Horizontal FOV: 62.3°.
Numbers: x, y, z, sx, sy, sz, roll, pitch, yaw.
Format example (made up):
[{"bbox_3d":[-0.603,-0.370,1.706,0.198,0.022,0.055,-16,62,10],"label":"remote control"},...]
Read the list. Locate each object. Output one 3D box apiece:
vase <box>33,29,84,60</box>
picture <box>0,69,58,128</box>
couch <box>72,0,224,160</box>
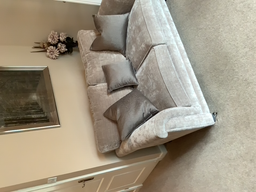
[{"bbox_3d":[-1.120,-0.820,3.420,0.390,0.710,0.300,62,145,37],"label":"vase"},{"bbox_3d":[-1.320,-0.020,2.680,0.910,0.690,0.040,64,146,35],"label":"picture"},{"bbox_3d":[0.050,-0.320,2.390,1.030,0.900,1.740,-43,56,56],"label":"couch"}]
